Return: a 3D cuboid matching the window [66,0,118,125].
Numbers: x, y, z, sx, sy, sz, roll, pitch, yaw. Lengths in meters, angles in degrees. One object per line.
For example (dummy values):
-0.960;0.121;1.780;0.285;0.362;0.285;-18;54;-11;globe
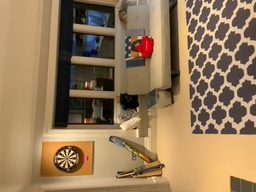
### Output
-0.730;-0.770;4.530;0.130;1.040;2.750;149;122;-73;window
